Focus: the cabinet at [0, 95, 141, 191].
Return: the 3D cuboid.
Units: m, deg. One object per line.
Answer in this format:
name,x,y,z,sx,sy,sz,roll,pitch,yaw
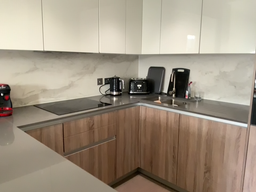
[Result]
cabinet,-0.540,0.550,2.260,1.300,0.910,0.620,-9,14,-43
